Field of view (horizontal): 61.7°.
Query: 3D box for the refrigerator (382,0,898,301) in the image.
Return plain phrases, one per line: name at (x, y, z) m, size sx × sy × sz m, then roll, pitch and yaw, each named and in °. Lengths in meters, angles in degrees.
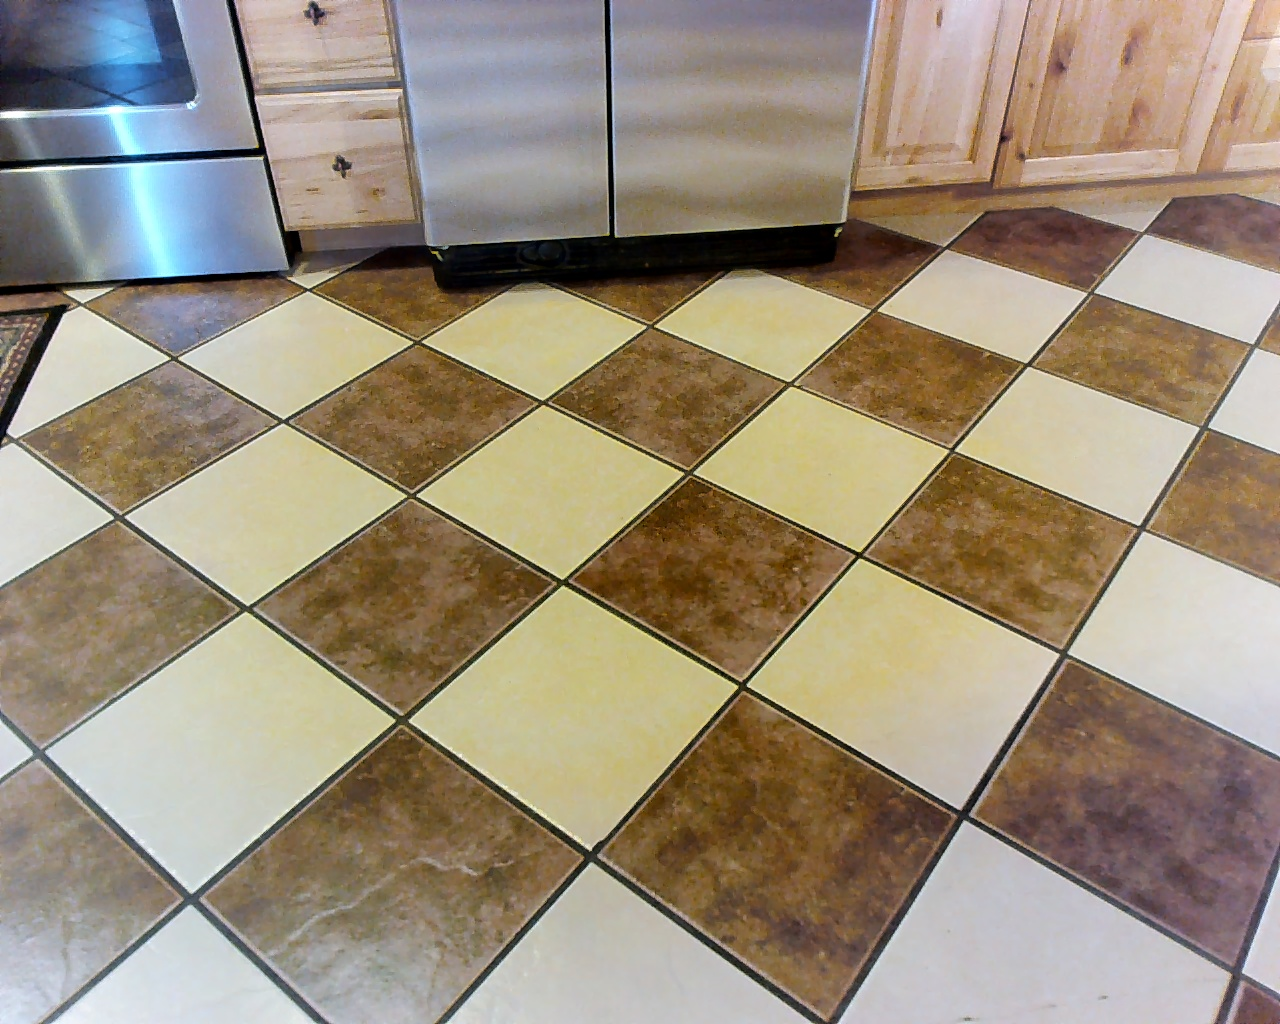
refrigerator at (0.000, -1.180, 1.800) m, size 0.930 × 1.720 × 0.180 m, roll -5°, pitch 43°, yaw -4°
